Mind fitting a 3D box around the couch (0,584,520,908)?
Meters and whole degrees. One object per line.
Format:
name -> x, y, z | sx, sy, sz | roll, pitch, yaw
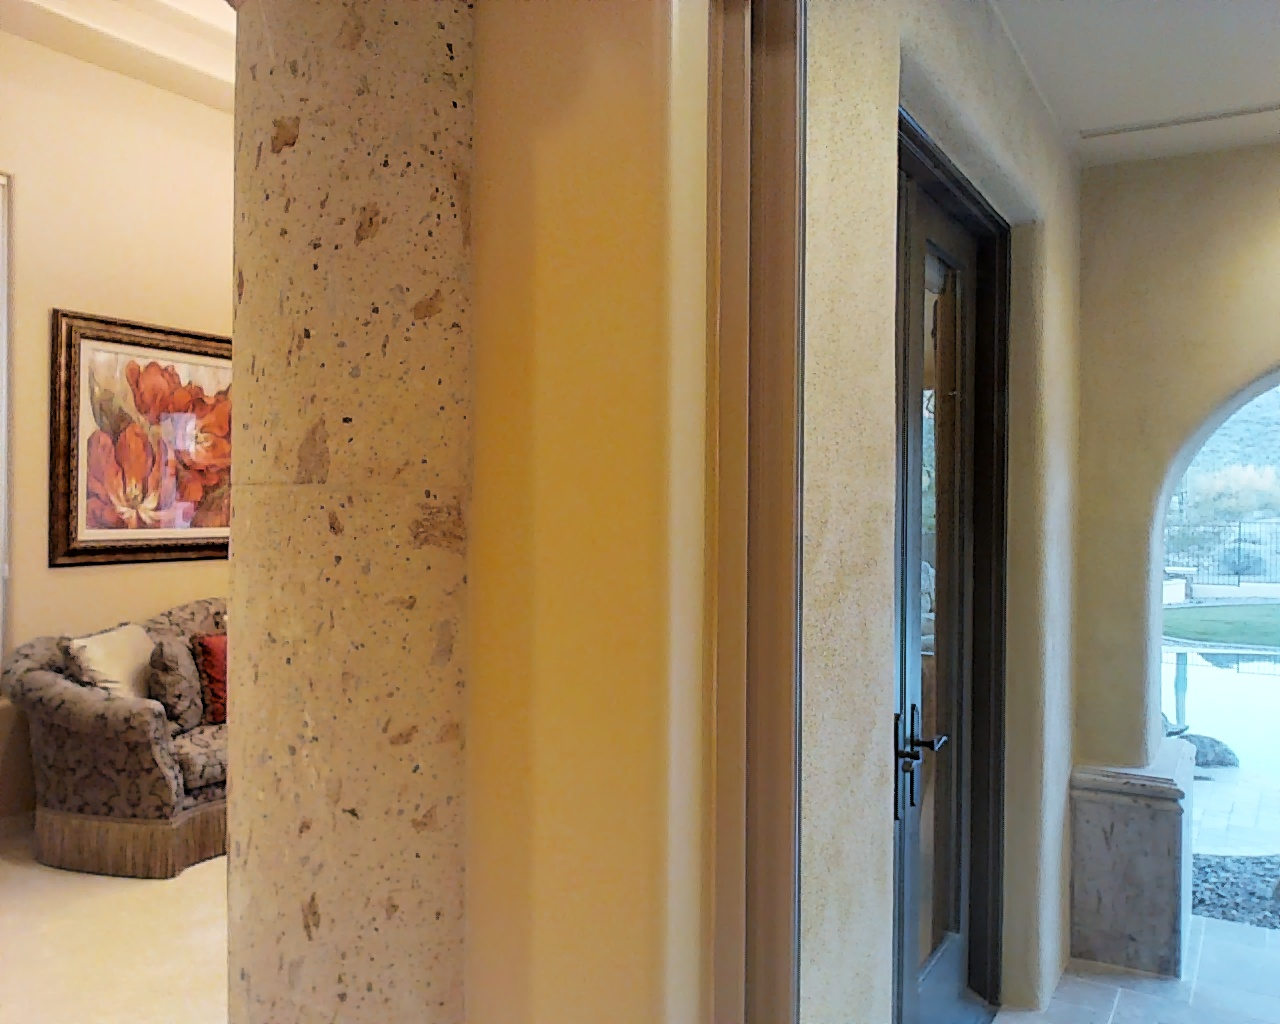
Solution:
couch -> -1.880, 0.980, 5.430 | 1.210, 1.010, 2.540 | 1, 1, 31
